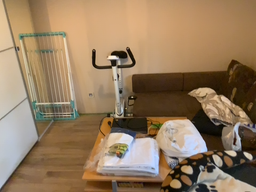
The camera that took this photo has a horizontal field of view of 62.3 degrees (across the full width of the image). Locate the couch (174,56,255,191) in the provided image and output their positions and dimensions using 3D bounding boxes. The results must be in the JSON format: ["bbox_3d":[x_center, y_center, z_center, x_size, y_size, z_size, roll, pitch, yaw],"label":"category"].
[{"bbox_3d":[1.050,0.270,2.030,0.910,0.810,2.040,-1,23,4],"label":"couch"}]

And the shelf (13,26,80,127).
[{"bbox_3d":[-1.100,-0.220,2.980,0.620,1.420,0.120,-2,23,1],"label":"shelf"}]

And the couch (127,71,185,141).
[{"bbox_3d":[0.340,0.100,2.730,0.610,0.630,0.730,-1,23,5],"label":"couch"}]

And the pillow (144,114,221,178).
[{"bbox_3d":[0.390,0.370,1.750,0.500,0.140,0.660,-1,23,4],"label":"pillow"}]
